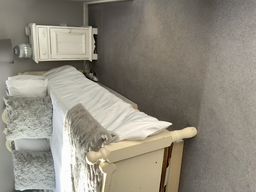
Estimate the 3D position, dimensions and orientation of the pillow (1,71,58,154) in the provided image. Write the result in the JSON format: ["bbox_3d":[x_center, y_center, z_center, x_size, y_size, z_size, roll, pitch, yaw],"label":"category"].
[{"bbox_3d":[-1.130,0.120,2.400,0.790,0.450,0.640,31,122,54],"label":"pillow"}]

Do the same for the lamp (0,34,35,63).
[{"bbox_3d":[-1.290,-0.540,2.370,0.290,0.400,0.280,31,122,55],"label":"lamp"}]
